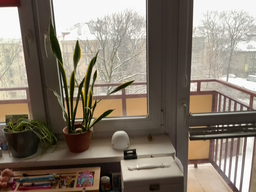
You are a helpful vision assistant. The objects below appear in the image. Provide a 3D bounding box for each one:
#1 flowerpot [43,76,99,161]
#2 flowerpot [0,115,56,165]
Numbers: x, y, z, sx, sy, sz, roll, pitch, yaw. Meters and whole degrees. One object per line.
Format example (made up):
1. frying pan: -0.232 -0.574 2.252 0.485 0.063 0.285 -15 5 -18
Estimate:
1. flowerpot: -0.300 0.120 1.180 0.240 0.430 0.160 -3 14 -5
2. flowerpot: -0.560 0.240 1.210 0.230 0.200 0.190 -3 14 -6
